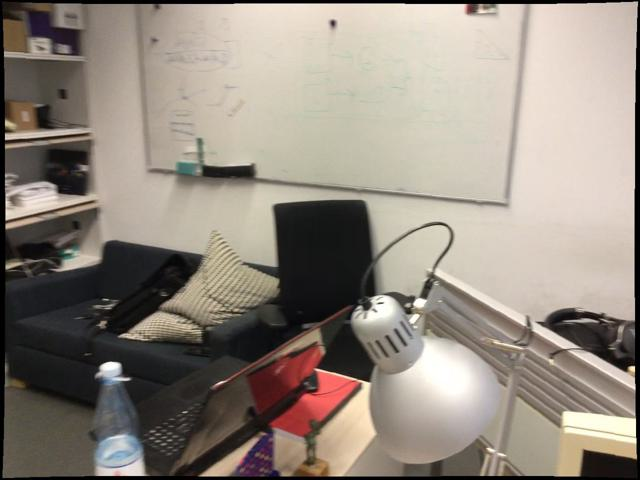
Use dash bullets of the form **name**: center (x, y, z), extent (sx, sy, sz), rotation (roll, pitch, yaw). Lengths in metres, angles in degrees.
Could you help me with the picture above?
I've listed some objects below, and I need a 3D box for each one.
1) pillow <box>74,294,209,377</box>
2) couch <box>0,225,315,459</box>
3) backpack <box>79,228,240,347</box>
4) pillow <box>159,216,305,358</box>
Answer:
- **pillow**: center (-0.829, 0.430, 2.700), extent (0.540, 0.200, 0.270), rotation (7, 18, 23)
- **couch**: center (-0.879, 0.420, 3.020), extent (1.509, 0.671, 0.810), rotation (7, 18, 23)
- **backpack**: center (-0.789, 0.210, 2.930), extent (0.550, 0.370, 0.530), rotation (7, 18, 23)
- **pillow**: center (-0.410, 0.200, 2.870), extent (0.460, 0.480, 0.580), rotation (7, 18, 23)
